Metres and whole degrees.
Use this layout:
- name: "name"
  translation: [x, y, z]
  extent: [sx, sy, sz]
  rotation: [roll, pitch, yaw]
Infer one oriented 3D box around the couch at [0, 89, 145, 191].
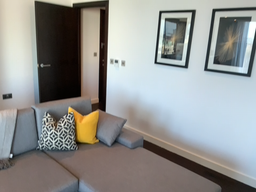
- name: "couch"
  translation: [-0.990, 0.600, 1.840]
  extent: [0.910, 0.830, 2.500]
  rotation: [16, 19, 38]
